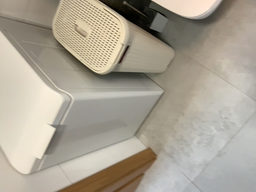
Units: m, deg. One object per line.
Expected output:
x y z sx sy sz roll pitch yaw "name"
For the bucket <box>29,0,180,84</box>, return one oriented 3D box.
-0.100 -0.330 1.200 0.530 0.620 0.260 41 113 25 "bucket"
